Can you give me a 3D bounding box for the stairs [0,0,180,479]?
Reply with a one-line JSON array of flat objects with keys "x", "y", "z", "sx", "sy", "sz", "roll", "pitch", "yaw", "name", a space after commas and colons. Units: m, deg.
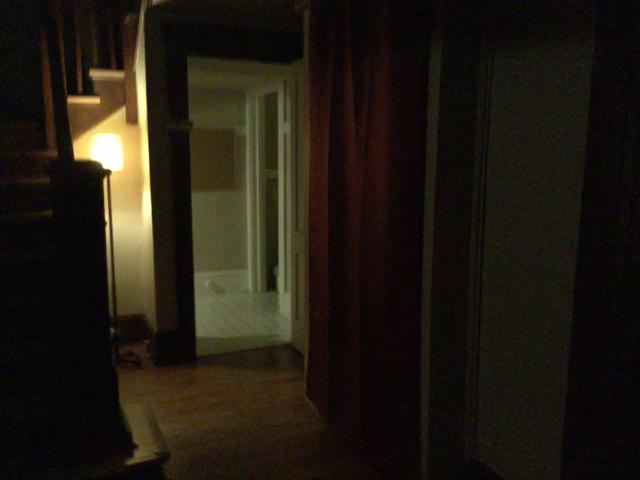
[{"x": -1.660, "y": 0.000, "z": 2.820, "sx": 1.590, "sy": 2.000, "sz": 1.870, "roll": -1, "pitch": 7, "yaw": -23, "name": "stairs"}]
